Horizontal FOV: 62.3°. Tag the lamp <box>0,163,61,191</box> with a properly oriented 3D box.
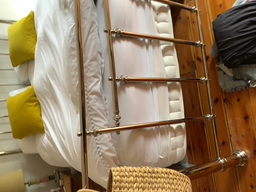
[{"bbox_3d":[-1.080,0.950,2.280,0.380,0.590,0.310,-19,76,56],"label":"lamp"}]

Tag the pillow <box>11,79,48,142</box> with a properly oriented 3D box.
[{"bbox_3d":[-0.990,0.160,2.090,0.600,0.220,0.530,-16,79,56],"label":"pillow"}]
